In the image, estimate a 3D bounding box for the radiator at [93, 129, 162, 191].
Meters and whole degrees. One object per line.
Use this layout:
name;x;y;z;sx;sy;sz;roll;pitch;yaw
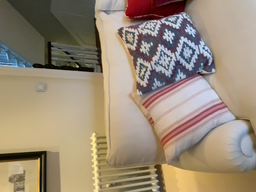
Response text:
radiator;0.000;1.010;2.350;0.220;0.730;1.220;145;129;-63

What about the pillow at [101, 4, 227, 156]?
pillow;0.230;-0.110;1.250;0.760;0.410;0.280;-60;3;-27
